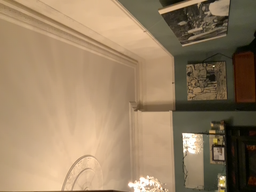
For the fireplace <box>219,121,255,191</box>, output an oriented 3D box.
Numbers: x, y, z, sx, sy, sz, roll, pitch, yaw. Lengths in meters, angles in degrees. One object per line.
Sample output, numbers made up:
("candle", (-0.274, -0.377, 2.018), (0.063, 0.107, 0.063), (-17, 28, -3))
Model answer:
("fireplace", (2.280, 1.220, 3.750), (0.710, 1.160, 1.450), (2, -93, -68))
